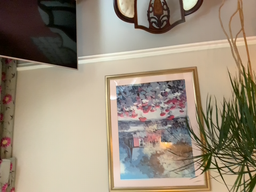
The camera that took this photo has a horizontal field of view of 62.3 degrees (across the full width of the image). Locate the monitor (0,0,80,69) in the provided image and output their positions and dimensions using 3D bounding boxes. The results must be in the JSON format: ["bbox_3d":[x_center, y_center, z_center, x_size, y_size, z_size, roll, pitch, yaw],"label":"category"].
[{"bbox_3d":[-0.820,-0.600,1.430,1.100,0.660,0.050,7,166,-44],"label":"monitor"}]
